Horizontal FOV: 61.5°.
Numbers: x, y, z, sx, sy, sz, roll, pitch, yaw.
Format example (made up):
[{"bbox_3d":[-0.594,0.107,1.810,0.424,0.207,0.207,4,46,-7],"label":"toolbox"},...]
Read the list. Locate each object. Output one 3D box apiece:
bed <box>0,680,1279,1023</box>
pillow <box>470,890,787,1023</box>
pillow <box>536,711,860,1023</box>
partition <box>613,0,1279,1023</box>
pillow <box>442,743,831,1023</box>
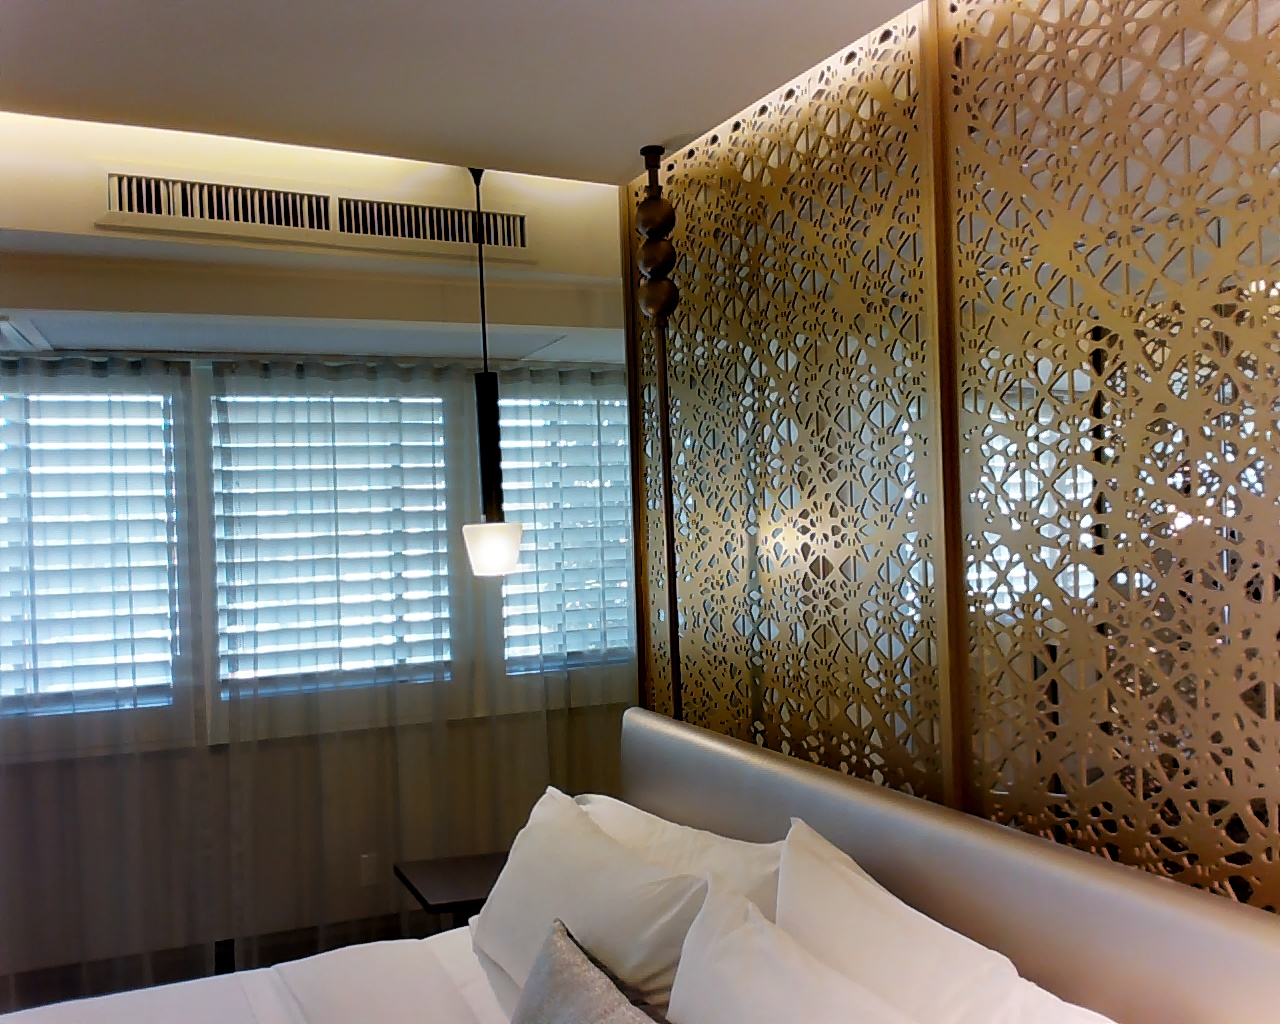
[{"bbox_3d":[-0.480,1.010,1.400,2.470,1.060,2.030,-2,1,-27],"label":"bed"},{"bbox_3d":[-0.040,0.790,1.590,0.260,0.250,0.530,-2,1,-27],"label":"pillow"},{"bbox_3d":[0.060,0.700,2.230,0.180,0.390,1.010,-2,1,-27],"label":"pillow"},{"bbox_3d":[0.610,0.370,1.960,0.270,2.340,2.350,-2,1,-27],"label":"partition"},{"bbox_3d":[-0.080,0.750,2.050,0.280,0.380,1.080,-2,1,-27],"label":"pillow"}]
